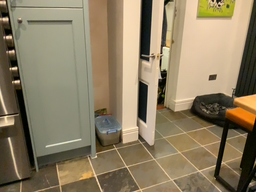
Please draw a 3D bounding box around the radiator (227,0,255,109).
[{"bbox_3d":[1.680,-0.730,2.620,0.100,1.790,0.620,-8,24,-22],"label":"radiator"}]
